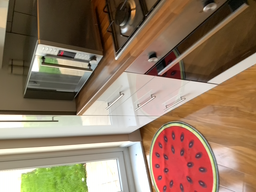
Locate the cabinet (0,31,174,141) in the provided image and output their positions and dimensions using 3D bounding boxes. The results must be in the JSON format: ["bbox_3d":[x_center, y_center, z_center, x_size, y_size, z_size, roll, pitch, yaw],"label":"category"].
[{"bbox_3d":[-0.870,-0.030,1.550,0.630,2.540,0.570,-38,55,49],"label":"cabinet"}]

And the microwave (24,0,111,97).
[{"bbox_3d":[-0.390,-0.310,1.220,0.570,0.300,0.430,-38,56,49],"label":"microwave"}]
